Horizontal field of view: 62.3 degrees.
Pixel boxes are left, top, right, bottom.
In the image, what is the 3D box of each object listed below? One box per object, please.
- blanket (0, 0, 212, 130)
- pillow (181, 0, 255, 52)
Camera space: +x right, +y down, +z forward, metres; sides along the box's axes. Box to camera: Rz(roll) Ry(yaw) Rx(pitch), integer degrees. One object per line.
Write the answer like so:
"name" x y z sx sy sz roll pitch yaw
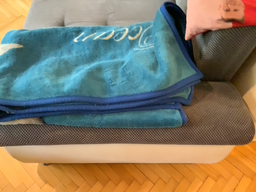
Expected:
"blanket" -0.150 -0.140 0.830 0.780 0.200 0.480 -1 60 -3
"pillow" 0.370 -0.360 0.720 0.300 0.220 0.350 0 60 -2
